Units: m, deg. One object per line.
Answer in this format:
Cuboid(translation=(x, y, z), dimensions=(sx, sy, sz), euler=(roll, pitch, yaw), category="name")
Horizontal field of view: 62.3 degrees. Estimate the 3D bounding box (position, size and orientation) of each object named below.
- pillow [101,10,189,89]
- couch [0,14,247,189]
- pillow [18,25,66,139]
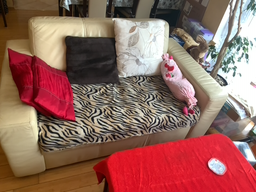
Cuboid(translation=(0.100, -0.400, 1.780), dimensions=(0.520, 0.450, 0.450), euler=(-7, 44, -20), category="pillow")
Cuboid(translation=(-0.130, -0.080, 1.680), dimensions=(1.480, 0.730, 0.950), euler=(-7, 44, -20), category="couch")
Cuboid(translation=(-0.510, -0.070, 1.330), dimensions=(0.180, 0.580, 0.490), euler=(-5, -1, -16), category="pillow")
